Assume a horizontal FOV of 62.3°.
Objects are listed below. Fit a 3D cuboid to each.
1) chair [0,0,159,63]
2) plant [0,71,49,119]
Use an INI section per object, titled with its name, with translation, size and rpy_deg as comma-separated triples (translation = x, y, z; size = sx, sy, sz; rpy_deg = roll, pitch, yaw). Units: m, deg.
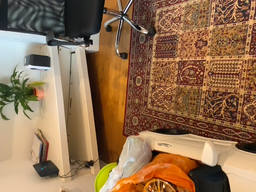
[chair]
translation = -0.460, -0.650, 1.540
size = 0.820, 1.090, 0.680
rpy_deg = 8, 96, 51
[plant]
translation = -1.030, -0.010, 2.050
size = 0.120, 0.460, 0.430
rpy_deg = 9, 97, 51
